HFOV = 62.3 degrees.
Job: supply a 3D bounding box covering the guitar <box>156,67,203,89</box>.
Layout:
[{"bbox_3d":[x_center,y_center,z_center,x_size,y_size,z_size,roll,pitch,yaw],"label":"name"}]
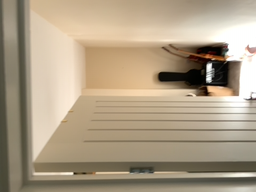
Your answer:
[{"bbox_3d":[0.940,-0.350,3.950,0.290,0.800,0.360,-106,14,-80],"label":"guitar"}]
